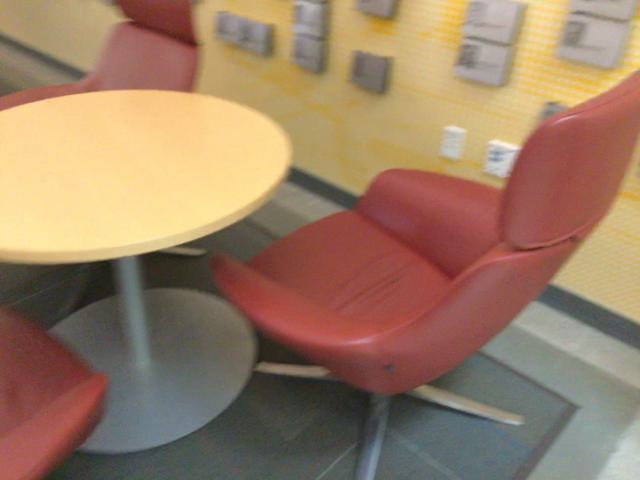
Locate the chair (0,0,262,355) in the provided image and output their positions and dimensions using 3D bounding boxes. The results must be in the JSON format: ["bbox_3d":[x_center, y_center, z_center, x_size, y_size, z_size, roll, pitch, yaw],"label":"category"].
[{"bbox_3d":[-0.830,-0.400,2.070,0.890,1.050,0.820,27,40,35],"label":"chair"}]

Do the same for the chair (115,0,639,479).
[{"bbox_3d":[0.210,0.020,1.490,0.900,1.040,0.890,23,38,31],"label":"chair"}]
